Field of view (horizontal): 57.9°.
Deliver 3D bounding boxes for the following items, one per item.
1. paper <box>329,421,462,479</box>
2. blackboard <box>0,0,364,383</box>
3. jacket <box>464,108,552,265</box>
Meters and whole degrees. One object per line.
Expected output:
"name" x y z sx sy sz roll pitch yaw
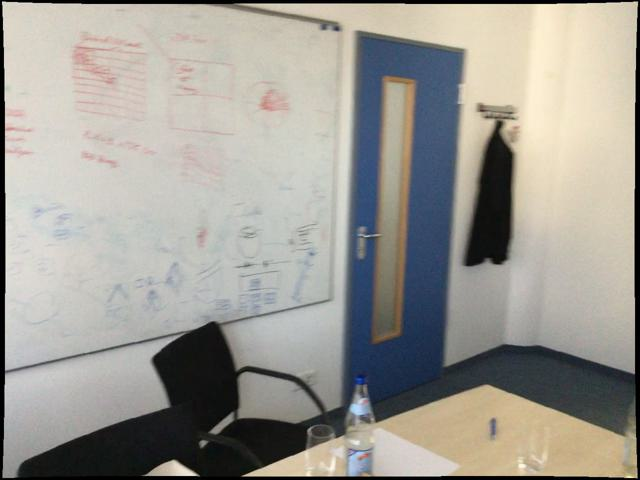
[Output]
"paper" 0.200 0.591 1.570 0.220 0.010 0.290 -9 16 -35
"blackboard" -0.699 -0.270 2.330 2.149 1.431 0.130 -9 16 -35
"jacket" 1.179 -0.350 3.640 0.400 0.931 0.280 -9 16 -35
